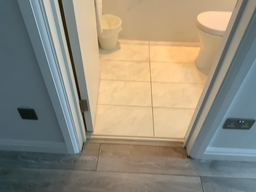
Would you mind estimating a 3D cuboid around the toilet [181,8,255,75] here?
[{"bbox_3d":[0.840,-0.500,1.960,0.550,0.450,0.380,2,46,0],"label":"toilet"}]
